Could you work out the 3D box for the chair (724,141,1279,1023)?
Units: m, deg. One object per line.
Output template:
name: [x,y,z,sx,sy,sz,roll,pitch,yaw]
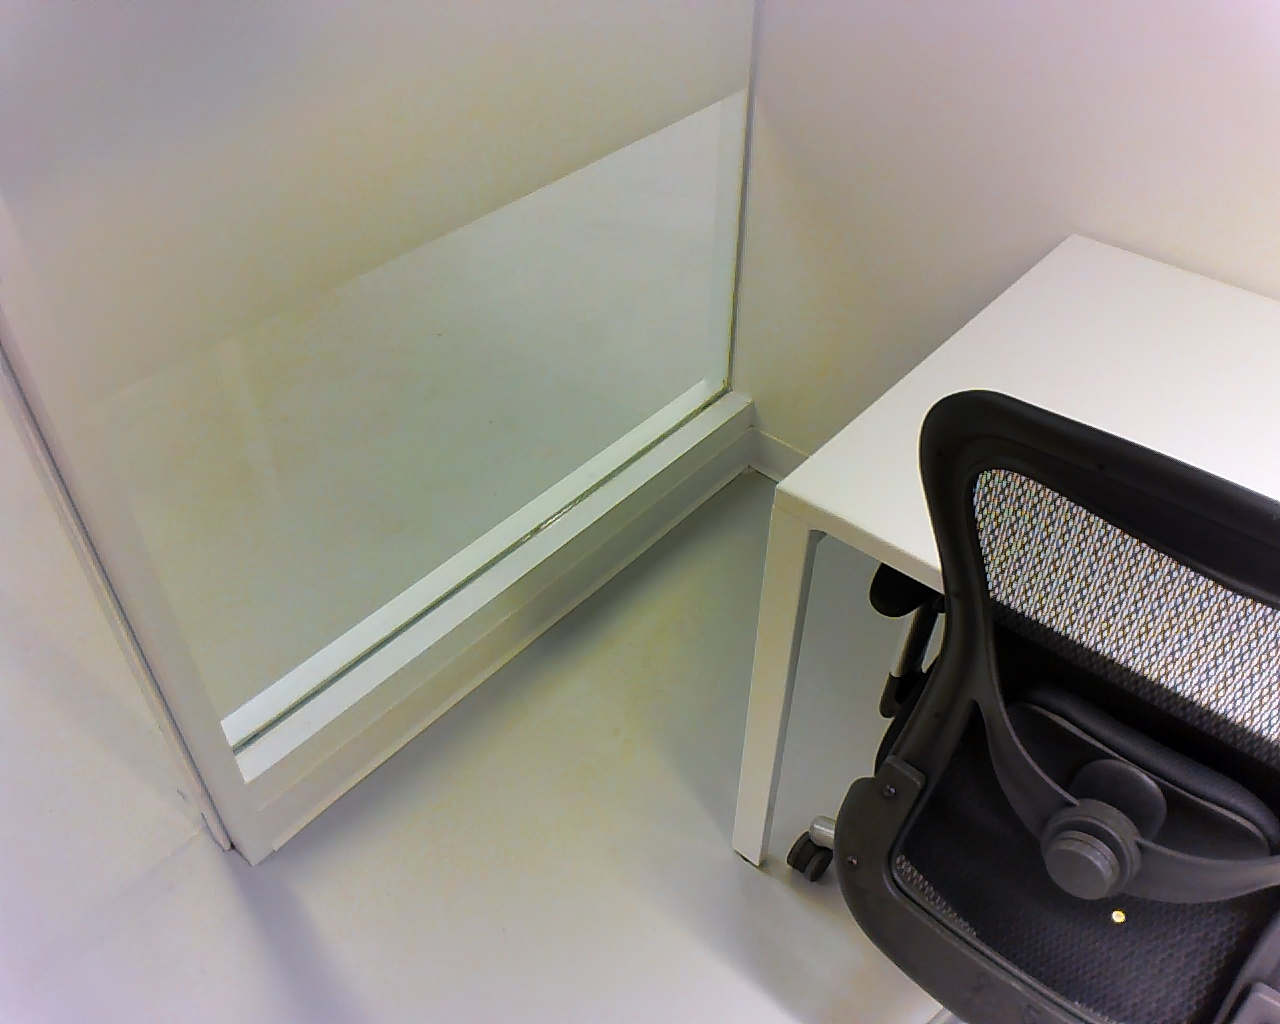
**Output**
chair: [0.540,0.290,1.130,0.580,1.030,0.650,30,50,29]
